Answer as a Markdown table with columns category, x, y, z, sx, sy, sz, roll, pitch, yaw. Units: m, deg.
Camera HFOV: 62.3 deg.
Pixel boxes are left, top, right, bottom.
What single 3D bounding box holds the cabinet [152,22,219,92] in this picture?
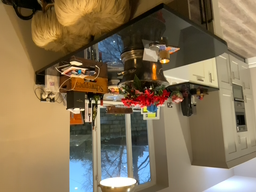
| category | x | y | z | sx | sy | sz | roll | pitch | yaw |
| --- | --- | --- | --- | --- | --- | --- | --- | --- | --- |
| cabinet | 1.000 | -0.590 | 3.640 | 0.980 | 0.890 | 0.620 | 4 | 170 | -44 |
